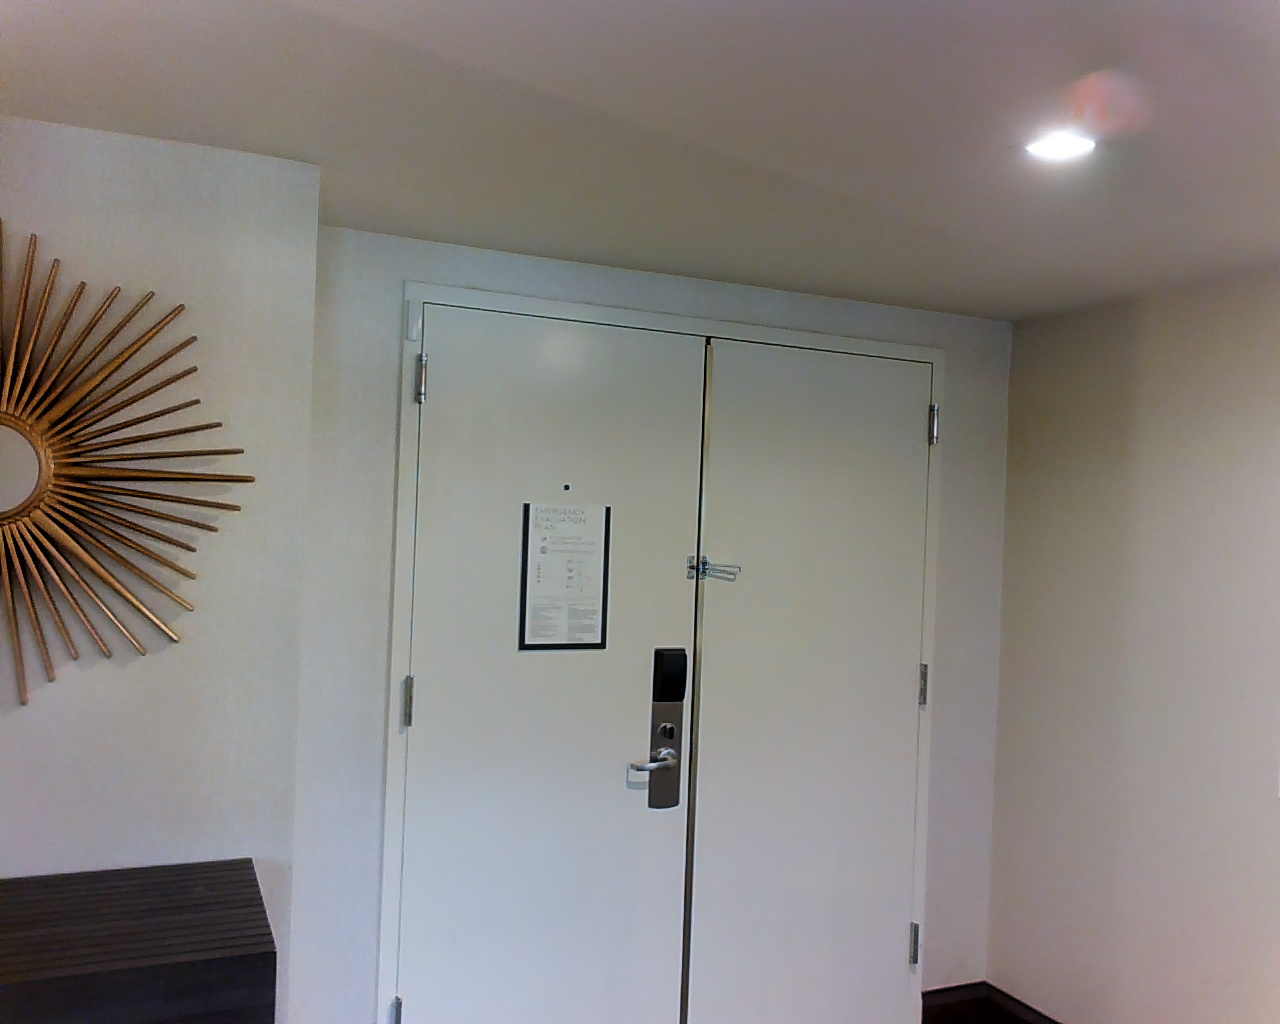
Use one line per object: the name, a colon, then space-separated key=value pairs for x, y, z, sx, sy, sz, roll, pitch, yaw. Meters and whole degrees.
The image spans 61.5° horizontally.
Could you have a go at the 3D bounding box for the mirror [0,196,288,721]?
mirror: x=-1.100 y=-0.090 z=1.860 sx=0.890 sy=0.890 sz=0.070 roll=3 pitch=0 yaw=-24
